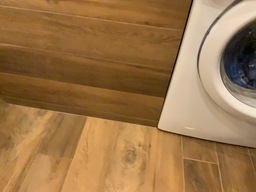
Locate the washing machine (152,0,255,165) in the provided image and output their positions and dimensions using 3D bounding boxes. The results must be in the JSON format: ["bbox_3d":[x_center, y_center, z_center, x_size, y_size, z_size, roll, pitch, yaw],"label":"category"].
[{"bbox_3d":[0.490,-0.180,0.880,0.600,0.850,0.490,10,45,4],"label":"washing machine"}]
